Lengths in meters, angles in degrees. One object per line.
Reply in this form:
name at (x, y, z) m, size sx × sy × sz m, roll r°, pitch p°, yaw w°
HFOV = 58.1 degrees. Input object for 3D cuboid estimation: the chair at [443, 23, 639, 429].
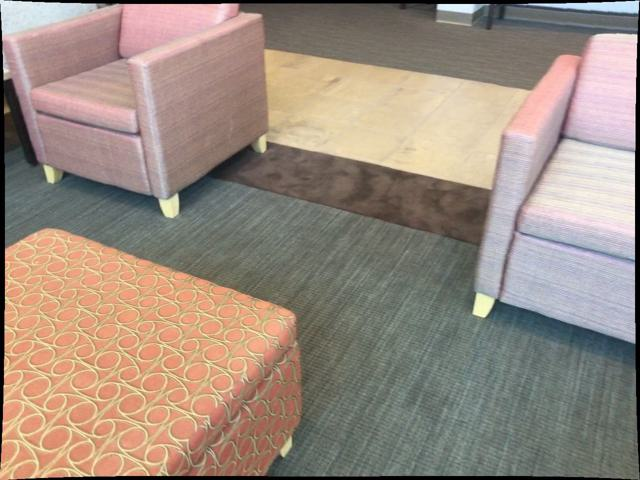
chair at (0.958, -0.090, 1.880) m, size 0.799 × 0.961 × 0.840 m, roll 14°, pitch 36°, yaw 25°
